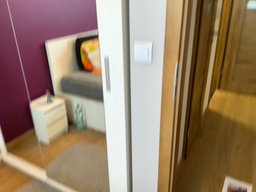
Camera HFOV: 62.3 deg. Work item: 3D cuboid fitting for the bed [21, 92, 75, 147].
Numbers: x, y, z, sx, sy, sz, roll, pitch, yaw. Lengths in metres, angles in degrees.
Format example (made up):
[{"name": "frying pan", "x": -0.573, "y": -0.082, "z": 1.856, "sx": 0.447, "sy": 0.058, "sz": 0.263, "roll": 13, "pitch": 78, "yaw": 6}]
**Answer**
[{"name": "bed", "x": -0.930, "y": 0.260, "z": 2.510, "sx": 0.360, "sy": 0.440, "sz": 0.390, "roll": 12, "pitch": 27, "yaw": 27}]
